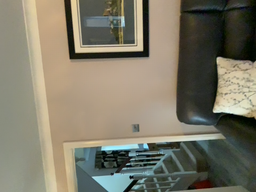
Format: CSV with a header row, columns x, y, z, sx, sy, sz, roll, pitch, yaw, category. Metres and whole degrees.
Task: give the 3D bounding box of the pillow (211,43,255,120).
x,y,z,sx,sy,sz,roll,pitch,yaw,category
0.890,-0.140,1.680,0.400,0.240,0.540,-114,22,-76,pillow
